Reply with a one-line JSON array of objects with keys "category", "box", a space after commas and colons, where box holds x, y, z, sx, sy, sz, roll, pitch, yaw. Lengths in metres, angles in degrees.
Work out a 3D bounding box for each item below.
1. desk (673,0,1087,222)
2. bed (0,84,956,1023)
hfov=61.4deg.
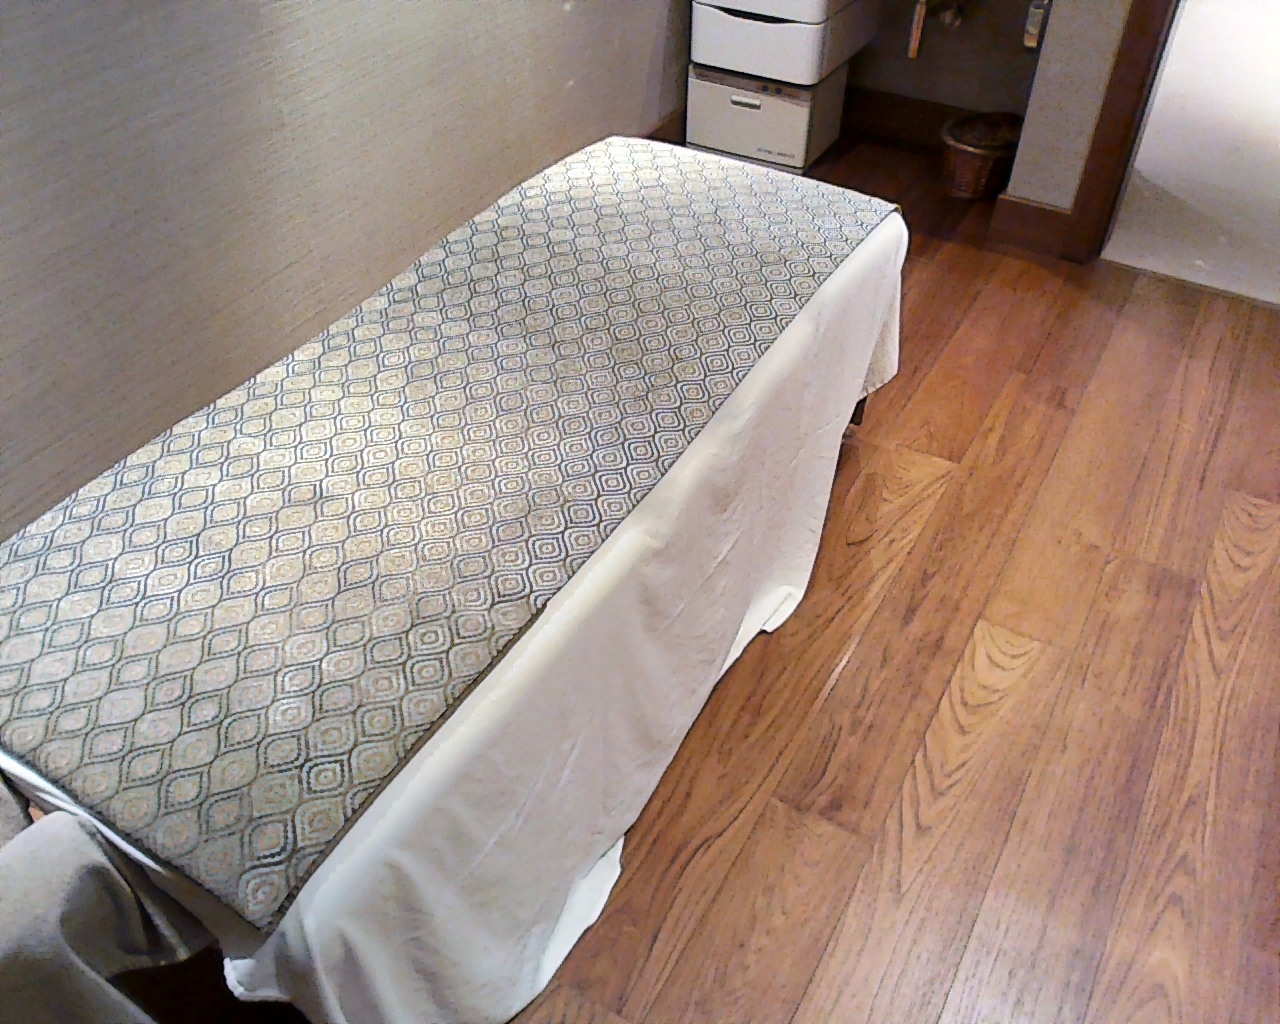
[{"category": "desk", "box": [0.770, -1.560, 3.580, 1.200, 0.750, 0.510, 22, 46, 21]}, {"category": "bed", "box": [-0.270, 0.060, 1.840, 0.830, 0.710, 2.160, 21, 46, 21]}]
